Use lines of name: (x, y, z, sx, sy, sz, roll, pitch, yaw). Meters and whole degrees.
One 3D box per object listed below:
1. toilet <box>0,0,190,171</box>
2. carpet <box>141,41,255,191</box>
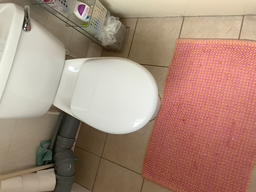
toilet: (-0.190, -0.050, 1.080, 0.730, 0.770, 0.530, 11, 84, 31)
carpet: (0.410, 0.110, 1.160, 0.550, 0.010, 0.850, 11, 85, 31)
